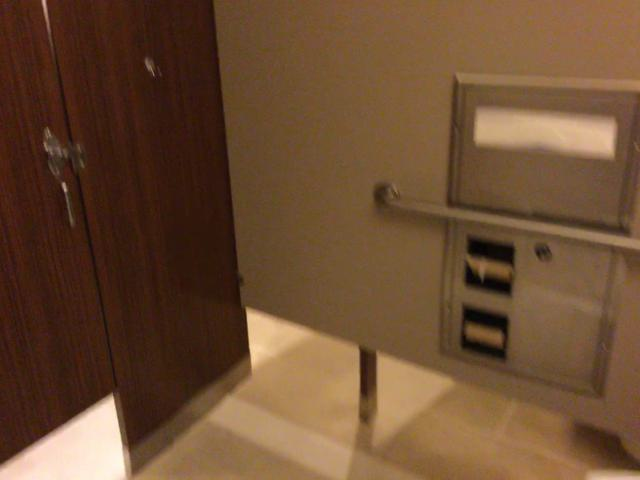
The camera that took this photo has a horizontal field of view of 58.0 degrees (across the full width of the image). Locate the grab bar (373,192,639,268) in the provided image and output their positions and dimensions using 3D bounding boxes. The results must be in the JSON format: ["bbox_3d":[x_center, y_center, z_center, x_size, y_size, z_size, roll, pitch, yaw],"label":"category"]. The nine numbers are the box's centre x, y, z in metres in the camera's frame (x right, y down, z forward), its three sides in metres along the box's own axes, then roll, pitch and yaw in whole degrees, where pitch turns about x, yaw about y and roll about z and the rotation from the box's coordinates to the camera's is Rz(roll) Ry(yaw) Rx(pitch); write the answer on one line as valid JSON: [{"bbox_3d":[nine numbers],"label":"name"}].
[{"bbox_3d":[0.690,0.010,1.280,1.250,0.070,0.090,11,24,32],"label":"grab bar"}]

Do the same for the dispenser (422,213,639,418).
[{"bbox_3d":[0.540,0.180,1.500,0.560,0.430,0.050,11,24,32],"label":"dispenser"}]

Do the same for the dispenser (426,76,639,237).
[{"bbox_3d":[0.490,-0.210,1.370,0.490,0.340,0.030,11,24,32],"label":"dispenser"}]

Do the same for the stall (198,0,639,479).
[{"bbox_3d":[0.550,0.040,1.540,1.960,1.400,0.260,11,24,32],"label":"stall"}]
